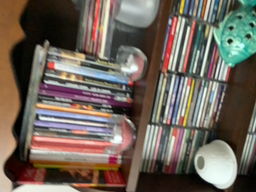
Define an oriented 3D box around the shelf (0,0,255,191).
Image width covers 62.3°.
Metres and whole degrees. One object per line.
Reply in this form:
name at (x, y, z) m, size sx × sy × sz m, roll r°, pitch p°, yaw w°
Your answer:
shelf at (0.240, -0.160, 0.540) m, size 0.320 × 1.000 × 0.780 m, roll -137°, pitch 56°, yaw -71°
